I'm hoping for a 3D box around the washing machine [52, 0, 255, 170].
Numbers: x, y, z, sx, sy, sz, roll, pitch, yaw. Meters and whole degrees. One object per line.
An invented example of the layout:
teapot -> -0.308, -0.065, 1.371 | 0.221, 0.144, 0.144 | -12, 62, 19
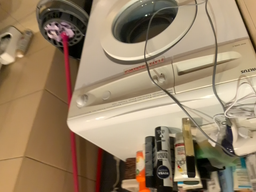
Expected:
washing machine -> 0.180, -0.170, 1.010 | 0.610, 0.830, 0.610 | -15, 144, 24
